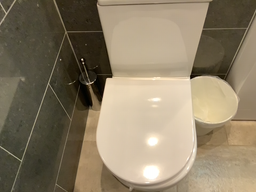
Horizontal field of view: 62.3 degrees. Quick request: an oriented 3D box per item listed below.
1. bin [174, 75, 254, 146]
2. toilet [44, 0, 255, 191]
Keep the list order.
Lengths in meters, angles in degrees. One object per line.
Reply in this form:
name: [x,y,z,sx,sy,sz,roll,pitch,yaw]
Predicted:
bin: [0.430,0.080,1.150,0.300,0.260,0.290,0,56,4]
toilet: [0.080,0.050,0.890,0.390,0.810,0.620,1,56,5]
